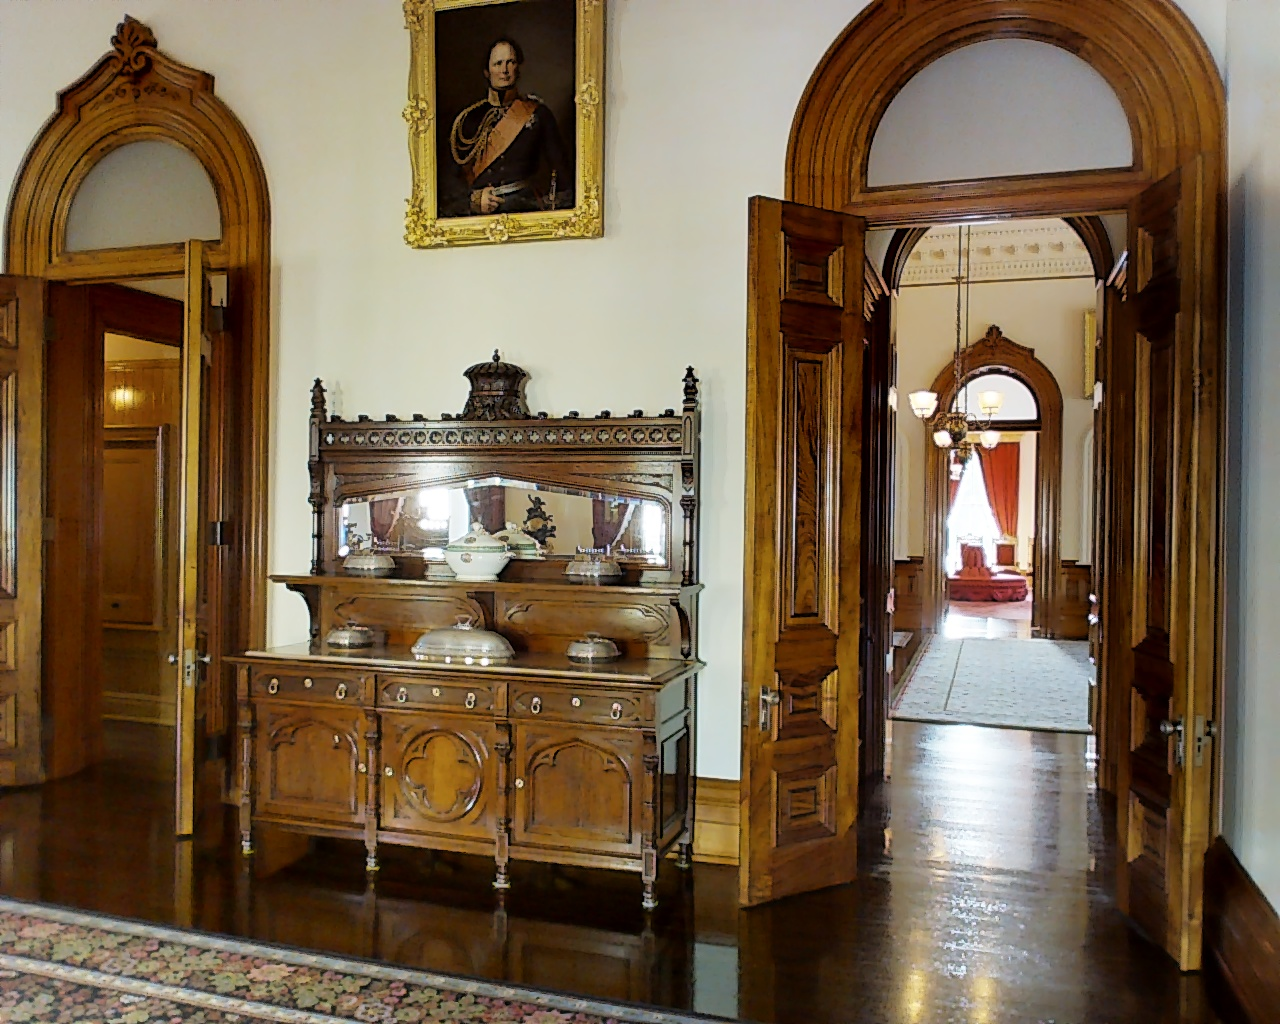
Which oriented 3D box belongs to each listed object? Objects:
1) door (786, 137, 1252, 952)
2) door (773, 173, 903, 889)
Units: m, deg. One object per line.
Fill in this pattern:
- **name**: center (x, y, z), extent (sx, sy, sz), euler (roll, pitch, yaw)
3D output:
- **door**: center (1.420, 0.100, 4.190), extent (1.610, 2.900, 0.230), euler (1, 0, 18)
- **door**: center (0.840, 0.080, 4.520), extent (0.560, 2.880, 0.100), euler (1, 0, -33)
